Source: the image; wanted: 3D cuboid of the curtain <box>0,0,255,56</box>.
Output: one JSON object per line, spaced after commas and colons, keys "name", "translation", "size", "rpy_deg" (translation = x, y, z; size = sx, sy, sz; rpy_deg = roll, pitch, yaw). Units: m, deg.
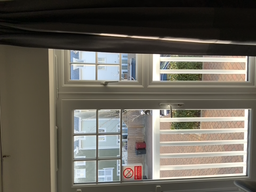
{"name": "curtain", "translation": [0.170, -0.550, 1.600], "size": [0.230, 2.480, 0.400], "rpy_deg": [-179, 89, -83]}
